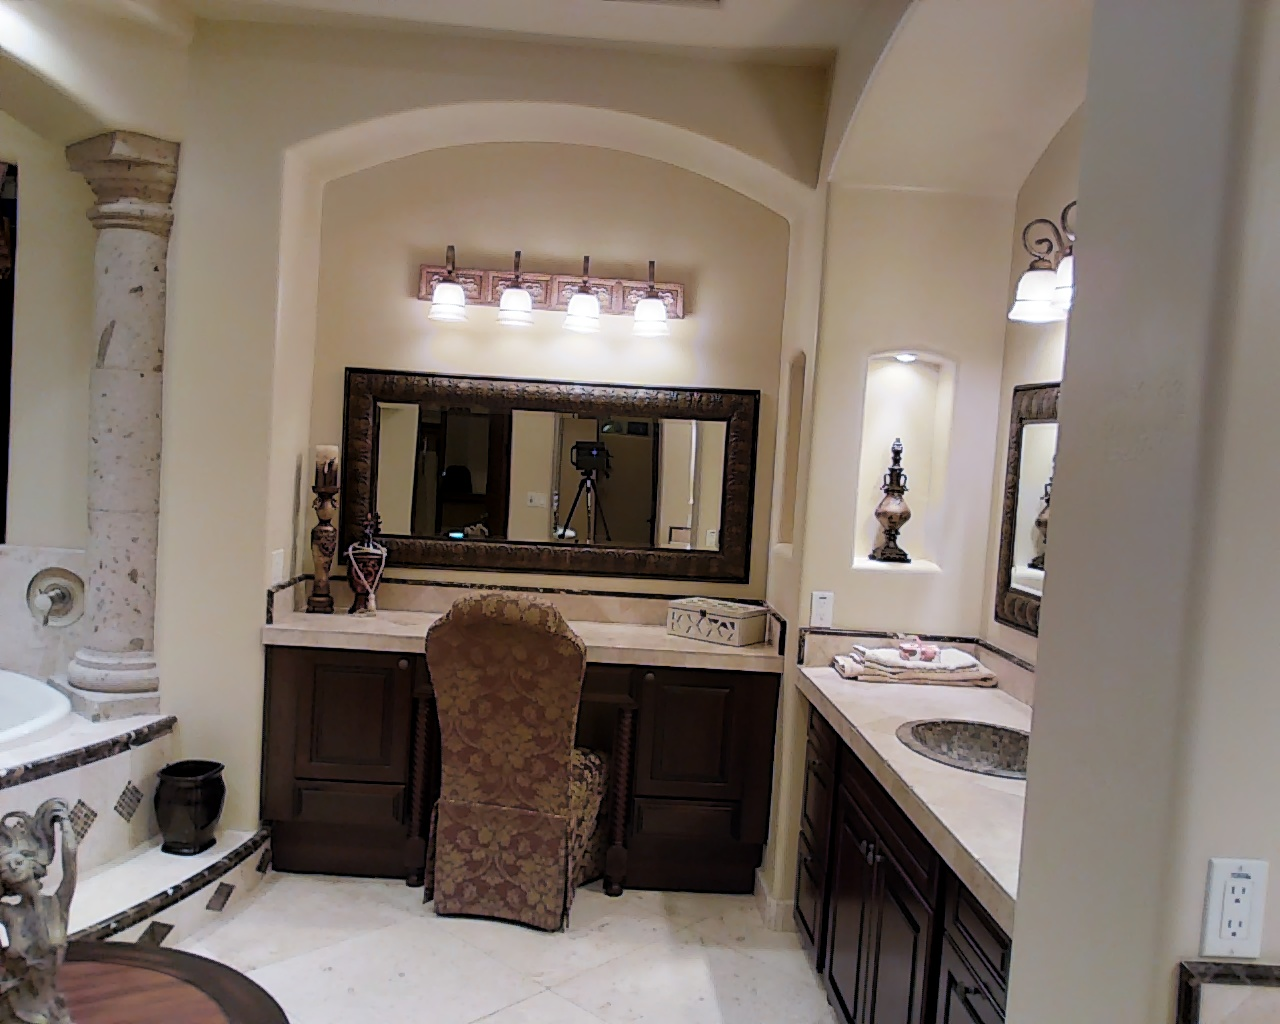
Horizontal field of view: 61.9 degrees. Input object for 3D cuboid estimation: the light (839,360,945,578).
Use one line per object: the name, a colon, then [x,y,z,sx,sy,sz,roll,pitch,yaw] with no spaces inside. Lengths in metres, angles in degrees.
light: [0.820,-0.140,3.490,0.250,0.680,0.160,4,3,-3]

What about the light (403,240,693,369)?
light: [-0.330,-0.750,3.890,1.010,0.370,0.170,4,3,-3]
